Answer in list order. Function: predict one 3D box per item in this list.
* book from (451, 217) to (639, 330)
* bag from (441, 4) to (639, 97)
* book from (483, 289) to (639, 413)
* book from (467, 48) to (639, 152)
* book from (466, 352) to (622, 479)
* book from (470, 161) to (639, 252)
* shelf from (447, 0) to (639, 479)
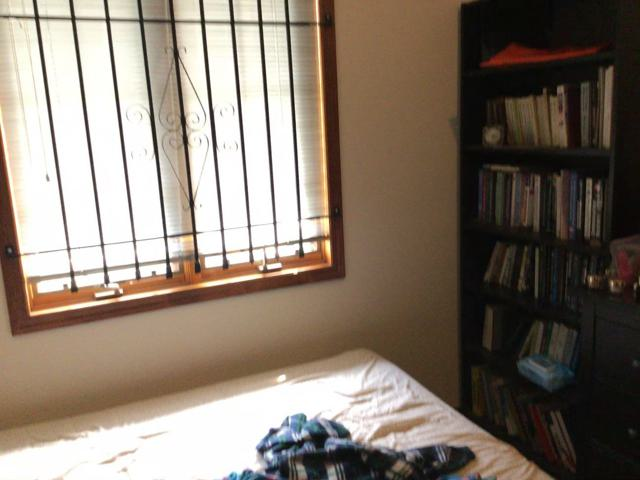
[{"bbox_3d":[0.920,0.100,2.380,0.300,0.270,0.810,-8,12,-26],"label":"book"},{"bbox_3d":[0.820,-0.680,2.170,0.370,0.230,0.690,-8,12,-26],"label":"bag"},{"bbox_3d":[0.970,0.420,2.350,0.250,0.280,0.600,-8,12,-26],"label":"book"},{"bbox_3d":[0.900,-0.510,2.210,0.220,0.320,0.750,-8,12,-26],"label":"book"},{"bbox_3d":[0.950,0.740,2.540,0.230,0.260,0.650,-8,12,-26],"label":"book"},{"bbox_3d":[0.930,-0.160,2.290,0.210,0.270,0.750,-8,12,-26],"label":"book"},{"bbox_3d":[0.910,0.000,2.300,0.350,1.990,0.830,-8,12,-26],"label":"shelf"}]
